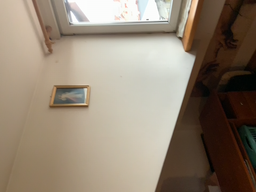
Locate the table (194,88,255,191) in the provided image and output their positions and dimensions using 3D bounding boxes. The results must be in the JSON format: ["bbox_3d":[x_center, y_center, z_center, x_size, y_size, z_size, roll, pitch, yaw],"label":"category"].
[{"bbox_3d":[1.290,0.600,2.290,0.790,0.700,1.110,91,176,-52],"label":"table"}]
